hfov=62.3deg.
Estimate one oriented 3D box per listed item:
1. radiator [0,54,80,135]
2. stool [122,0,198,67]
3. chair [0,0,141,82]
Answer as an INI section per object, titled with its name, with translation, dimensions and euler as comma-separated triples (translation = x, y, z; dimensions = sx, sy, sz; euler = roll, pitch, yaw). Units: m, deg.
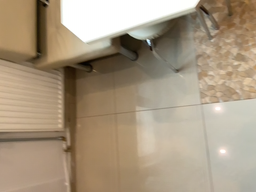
[radiator]
translation = -0.630, 0.020, 1.340
dimensions = 0.160, 0.800, 0.420
euler = -5, 81, 27
[stool]
translation = 0.200, -0.350, 1.140
dimensions = 0.220, 0.550, 0.220
euler = -9, 80, 26
[chair]
translation = -0.410, -0.870, 1.340
dimensions = 0.600, 0.860, 1.360
euler = -8, 80, 27
